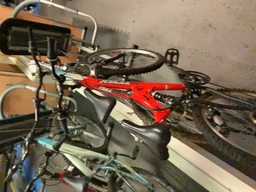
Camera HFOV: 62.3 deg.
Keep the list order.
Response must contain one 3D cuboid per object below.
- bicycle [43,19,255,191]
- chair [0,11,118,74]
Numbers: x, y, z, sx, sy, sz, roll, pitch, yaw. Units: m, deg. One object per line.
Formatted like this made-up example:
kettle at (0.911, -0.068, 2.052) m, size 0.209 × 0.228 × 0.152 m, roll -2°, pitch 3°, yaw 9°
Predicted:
bicycle at (0.200, 0.000, 1.340) m, size 1.720 × 0.720 × 0.550 m, roll 29°, pitch 109°, yaw 41°
chair at (-0.740, -0.520, 2.090) m, size 0.690 × 1.050 × 0.300 m, roll 30°, pitch 110°, yaw 41°
